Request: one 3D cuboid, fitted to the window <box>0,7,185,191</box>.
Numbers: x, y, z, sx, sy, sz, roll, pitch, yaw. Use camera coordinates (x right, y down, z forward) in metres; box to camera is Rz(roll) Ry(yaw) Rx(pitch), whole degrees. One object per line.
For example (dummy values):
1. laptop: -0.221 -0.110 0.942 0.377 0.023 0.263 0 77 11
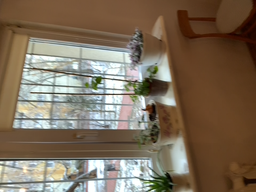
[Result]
1. window: -0.290 0.050 1.370 0.110 1.140 1.430 119 150 -57
